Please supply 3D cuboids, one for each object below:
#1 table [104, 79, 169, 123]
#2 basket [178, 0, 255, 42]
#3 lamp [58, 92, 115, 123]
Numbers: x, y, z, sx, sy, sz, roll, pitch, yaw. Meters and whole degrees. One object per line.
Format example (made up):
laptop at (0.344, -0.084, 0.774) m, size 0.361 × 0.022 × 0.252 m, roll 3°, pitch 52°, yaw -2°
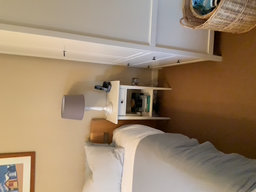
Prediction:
table at (0.100, 0.060, 2.550) m, size 0.350 × 0.690 × 0.470 m, roll -176°, pitch 88°, yaw -65°
basket at (0.700, -0.670, 1.580) m, size 0.410 × 0.460 × 0.400 m, roll -172°, pitch 84°, yaw -65°
lamp at (-0.450, 0.120, 2.270) m, size 0.280 × 0.540 × 0.290 m, roll -174°, pitch 87°, yaw -65°
